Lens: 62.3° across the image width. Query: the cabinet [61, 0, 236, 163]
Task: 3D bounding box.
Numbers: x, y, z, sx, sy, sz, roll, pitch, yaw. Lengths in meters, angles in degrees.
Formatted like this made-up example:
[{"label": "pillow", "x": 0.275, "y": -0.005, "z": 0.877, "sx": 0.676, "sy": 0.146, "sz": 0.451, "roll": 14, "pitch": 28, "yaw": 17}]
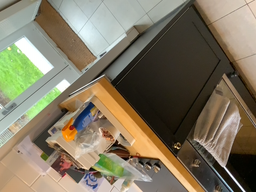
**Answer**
[{"label": "cabinet", "x": 0.140, "y": -0.110, "z": 1.300, "sx": 0.430, "sy": 0.890, "sz": 0.590, "roll": 49, "pitch": 148, "yaw": -13}]
